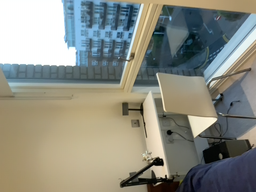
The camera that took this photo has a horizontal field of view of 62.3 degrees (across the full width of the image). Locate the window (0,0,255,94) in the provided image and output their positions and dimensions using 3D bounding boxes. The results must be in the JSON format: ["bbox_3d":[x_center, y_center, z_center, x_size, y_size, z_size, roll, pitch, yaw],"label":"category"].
[{"bbox_3d":[-0.160,-0.450,1.750,1.170,2.500,0.270,108,158,-55],"label":"window"}]

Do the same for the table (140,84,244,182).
[{"bbox_3d":[0.570,0.350,2.120,0.380,0.740,0.850,111,156,-60],"label":"table"}]
